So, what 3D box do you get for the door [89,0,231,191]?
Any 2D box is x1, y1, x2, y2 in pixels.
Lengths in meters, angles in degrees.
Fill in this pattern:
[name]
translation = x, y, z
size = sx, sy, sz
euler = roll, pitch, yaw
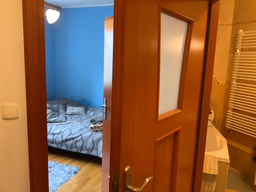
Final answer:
[door]
translation = 0.220, 0.430, 1.160
size = 0.150, 2.070, 0.970
euler = 10, 13, 40
